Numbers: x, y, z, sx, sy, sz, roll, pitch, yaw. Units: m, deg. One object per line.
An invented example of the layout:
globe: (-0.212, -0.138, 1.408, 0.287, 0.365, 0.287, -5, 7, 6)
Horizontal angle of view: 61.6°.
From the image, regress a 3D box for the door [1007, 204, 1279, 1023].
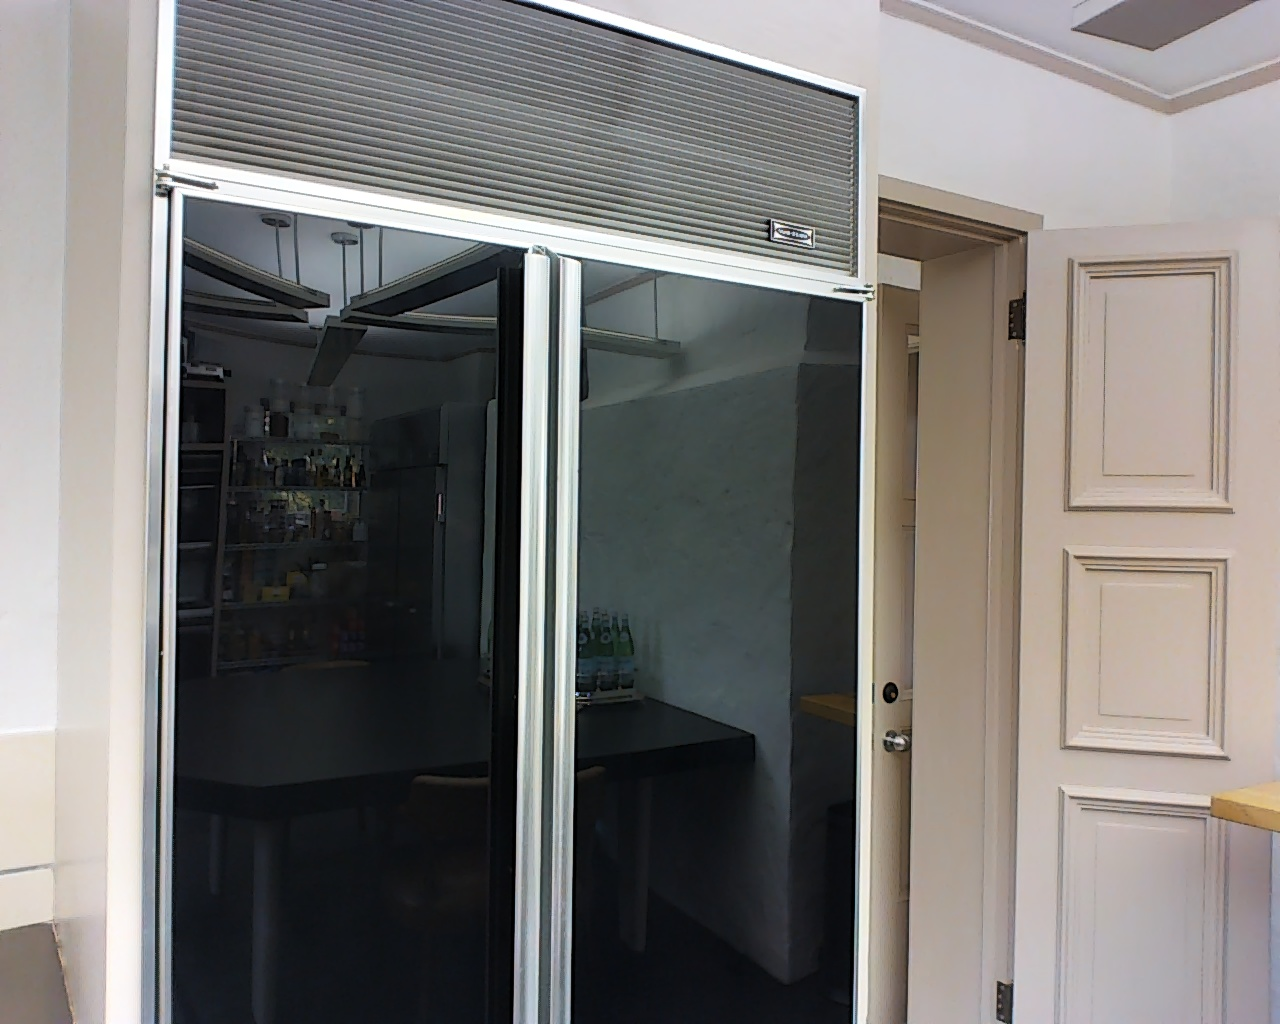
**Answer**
door: (1.260, 0.410, 2.610, 0.660, 2.260, 0.100, 1, 0, 18)
